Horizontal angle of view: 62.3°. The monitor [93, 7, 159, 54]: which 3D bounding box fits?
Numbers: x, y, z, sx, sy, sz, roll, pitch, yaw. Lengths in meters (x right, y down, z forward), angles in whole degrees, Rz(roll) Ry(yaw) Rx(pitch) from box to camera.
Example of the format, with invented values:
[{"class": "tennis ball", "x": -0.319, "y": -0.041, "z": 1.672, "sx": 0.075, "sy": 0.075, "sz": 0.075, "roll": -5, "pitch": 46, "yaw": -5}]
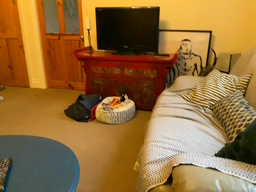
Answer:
[{"class": "monitor", "x": -0.040, "y": -0.810, "z": 2.620, "sx": 0.810, "sy": 0.520, "sz": 0.040, "roll": 6, "pitch": 20, "yaw": 16}]
